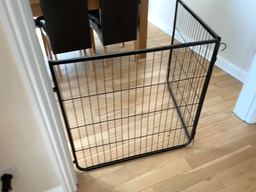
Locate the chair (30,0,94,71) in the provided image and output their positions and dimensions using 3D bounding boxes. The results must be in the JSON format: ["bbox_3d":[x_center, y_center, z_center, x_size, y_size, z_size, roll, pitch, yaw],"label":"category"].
[{"bbox_3d":[-0.680,-0.880,2.050,0.460,1.030,0.620,-15,44,-19],"label":"chair"}]

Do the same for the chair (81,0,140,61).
[{"bbox_3d":[-0.210,-1.000,2.210,0.420,1.030,0.620,-15,44,-19],"label":"chair"}]
